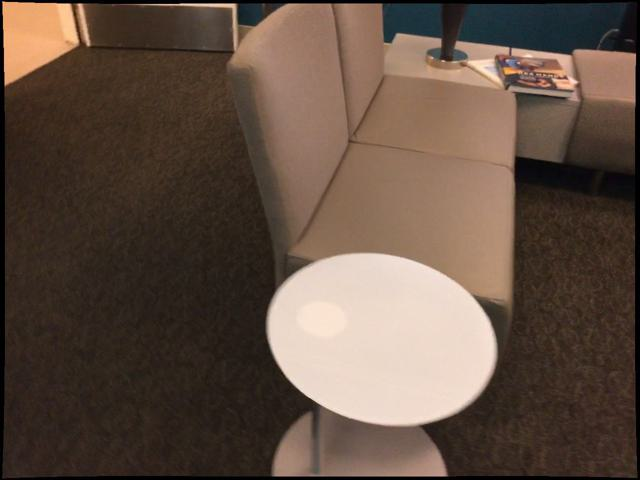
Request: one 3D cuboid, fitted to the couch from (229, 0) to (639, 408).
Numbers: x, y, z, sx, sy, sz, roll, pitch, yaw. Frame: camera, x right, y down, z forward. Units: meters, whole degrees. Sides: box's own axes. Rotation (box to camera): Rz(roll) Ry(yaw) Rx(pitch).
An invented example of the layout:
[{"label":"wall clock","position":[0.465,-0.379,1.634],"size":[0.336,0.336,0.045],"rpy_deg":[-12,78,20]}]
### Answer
[{"label":"couch","position":[0.299,-0.311,1.690],"size":[0.718,0.761,1.211],"rpy_deg":[9,39,8]}]
